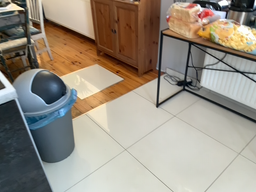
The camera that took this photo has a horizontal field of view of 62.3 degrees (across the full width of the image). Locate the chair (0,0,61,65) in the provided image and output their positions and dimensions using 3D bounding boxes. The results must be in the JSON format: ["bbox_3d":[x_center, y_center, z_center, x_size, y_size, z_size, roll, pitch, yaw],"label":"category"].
[{"bbox_3d":[-1.390,-1.020,2.980,0.530,0.930,0.480,-29,43,-34],"label":"chair"}]
